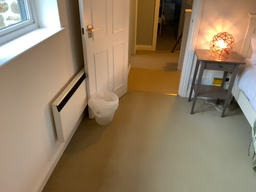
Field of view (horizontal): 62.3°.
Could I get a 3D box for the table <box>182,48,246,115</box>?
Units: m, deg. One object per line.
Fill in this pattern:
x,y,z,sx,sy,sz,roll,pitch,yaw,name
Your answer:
0.980,-0.180,2.540,0.520,0.670,0.370,5,31,6,table

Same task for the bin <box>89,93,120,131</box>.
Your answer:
-0.250,0.170,2.350,0.260,0.270,0.300,6,31,8,bin
